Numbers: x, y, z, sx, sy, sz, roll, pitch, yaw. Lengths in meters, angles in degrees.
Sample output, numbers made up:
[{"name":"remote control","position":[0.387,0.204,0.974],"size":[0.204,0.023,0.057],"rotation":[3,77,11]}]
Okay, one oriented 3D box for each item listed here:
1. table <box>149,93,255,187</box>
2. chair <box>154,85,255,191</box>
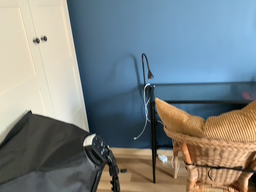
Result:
[{"name":"table","position":[0.700,0.340,1.720],"size":[1.010,0.640,0.350],"rotation":[0,23,10]},{"name":"chair","position":[0.520,0.420,1.370],"size":[0.620,0.780,0.720],"rotation":[1,23,12]}]
